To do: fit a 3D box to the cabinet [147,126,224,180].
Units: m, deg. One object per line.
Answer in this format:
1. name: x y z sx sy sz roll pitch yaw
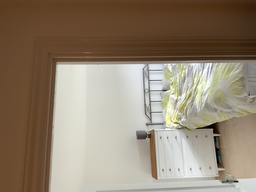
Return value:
1. cabinet: 0.940 0.960 3.640 0.460 1.120 0.820 103 166 -76
